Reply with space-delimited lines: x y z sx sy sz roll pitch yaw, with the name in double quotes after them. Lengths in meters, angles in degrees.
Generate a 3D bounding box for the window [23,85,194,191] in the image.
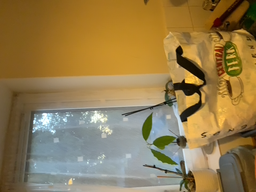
-0.100 0.240 1.090 0.030 0.790 0.620 97 170 -66 "window"
